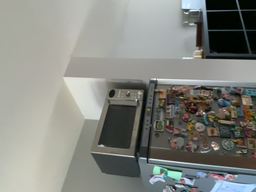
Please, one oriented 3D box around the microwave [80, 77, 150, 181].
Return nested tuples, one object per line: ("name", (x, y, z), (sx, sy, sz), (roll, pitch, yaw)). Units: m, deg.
("microwave", (-0.040, 0.280, 1.670), (0.630, 0.340, 0.570), (77, -160, -55))
